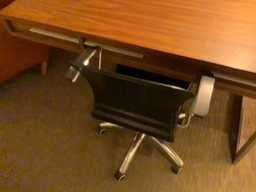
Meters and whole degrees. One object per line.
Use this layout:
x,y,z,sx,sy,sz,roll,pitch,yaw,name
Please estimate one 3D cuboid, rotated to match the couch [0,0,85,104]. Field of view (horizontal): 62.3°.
-1.070,-0.530,1.630,1.080,0.770,0.850,-25,54,-16,couch
